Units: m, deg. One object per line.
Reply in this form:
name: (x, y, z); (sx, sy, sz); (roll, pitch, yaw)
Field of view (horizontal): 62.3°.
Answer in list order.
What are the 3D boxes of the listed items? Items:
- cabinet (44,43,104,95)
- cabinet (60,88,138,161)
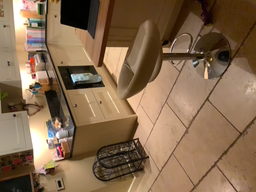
cabinet: (-1.020, -0.510, 3.920); (0.610, 0.890, 0.660); (58, 142, 38)
cabinet: (-0.460, 0.380, 3.110); (0.680, 0.870, 0.630); (58, 142, 38)
